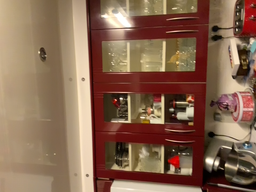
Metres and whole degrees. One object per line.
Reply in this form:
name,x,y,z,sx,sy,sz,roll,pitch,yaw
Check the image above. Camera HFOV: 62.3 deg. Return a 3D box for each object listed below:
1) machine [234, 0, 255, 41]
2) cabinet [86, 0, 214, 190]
machine,0.910,-0.570,1.540,0.220,0.180,0.300,-43,-46,-76
cabinet,0.170,-0.130,1.760,0.410,0.890,1.620,-37,-52,-78
